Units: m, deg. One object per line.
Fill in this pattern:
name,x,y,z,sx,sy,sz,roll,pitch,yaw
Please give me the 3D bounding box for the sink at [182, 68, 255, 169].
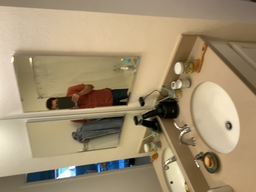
sink,0.530,0.110,1.170,0.420,0.190,0.340,-110,25,-44
